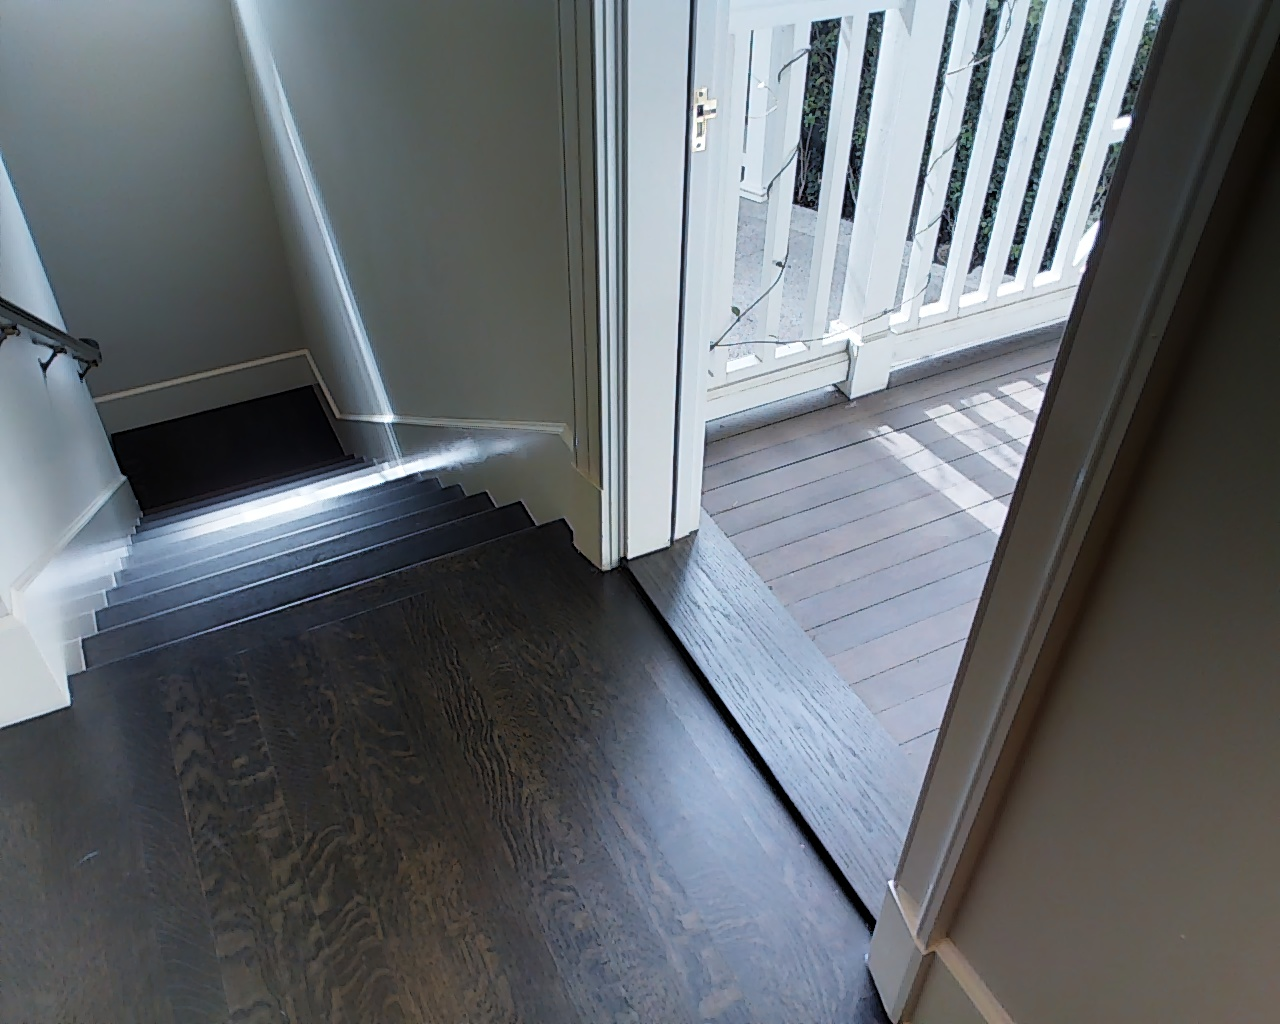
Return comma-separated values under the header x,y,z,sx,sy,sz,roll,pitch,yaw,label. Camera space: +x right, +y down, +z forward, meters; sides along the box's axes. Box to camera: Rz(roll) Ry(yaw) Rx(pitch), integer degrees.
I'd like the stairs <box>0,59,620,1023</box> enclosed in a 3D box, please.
x,y,z,sx,sy,sz,roll,pitch,yaw,label
-1.240,0.000,3.700,1.060,1.900,3.160,-18,45,-20,stairs
